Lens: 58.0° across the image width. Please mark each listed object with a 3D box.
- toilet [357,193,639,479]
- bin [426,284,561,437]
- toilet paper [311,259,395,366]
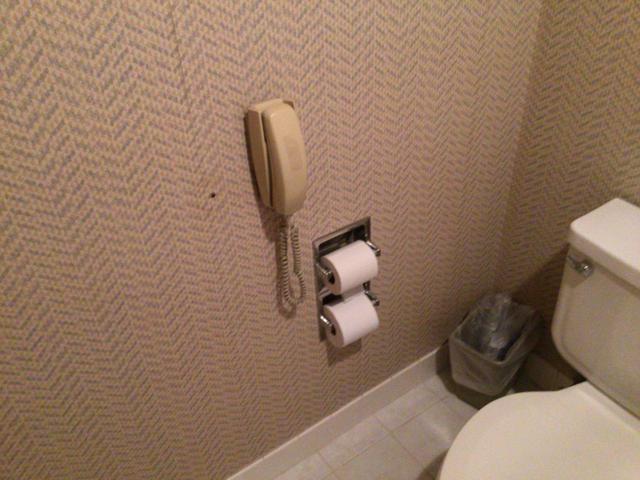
[{"bbox_3d":[0.540,0.450,1.150,0.730,0.740,0.550,-23,39,-26],"label":"toilet"},{"bbox_3d":[0.490,0.340,1.670,0.260,0.270,0.230,-23,39,-26],"label":"bin"},{"bbox_3d":[0.080,0.170,1.370,0.150,0.170,0.120,-23,39,-26],"label":"toilet paper"}]
